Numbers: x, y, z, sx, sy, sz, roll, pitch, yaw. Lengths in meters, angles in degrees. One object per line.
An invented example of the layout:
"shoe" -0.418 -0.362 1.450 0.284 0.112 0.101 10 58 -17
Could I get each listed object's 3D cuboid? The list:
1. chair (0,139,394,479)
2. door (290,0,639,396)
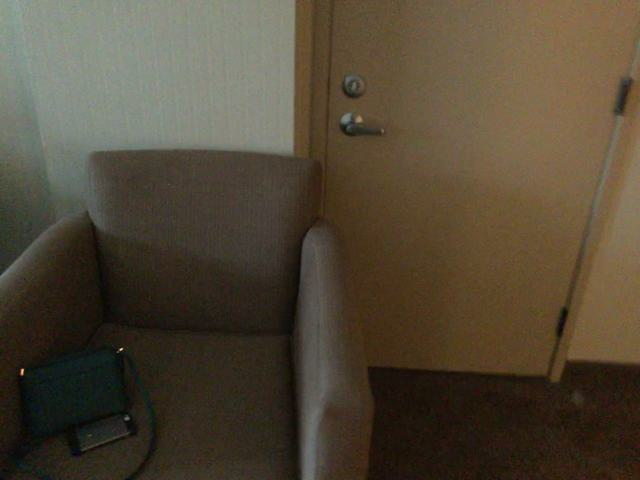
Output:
"chair" -0.320 0.300 1.400 0.820 0.820 0.880 2 27 -1
"door" 0.810 -0.440 1.570 1.740 2.090 0.140 2 27 -1
